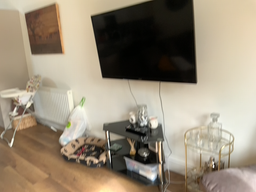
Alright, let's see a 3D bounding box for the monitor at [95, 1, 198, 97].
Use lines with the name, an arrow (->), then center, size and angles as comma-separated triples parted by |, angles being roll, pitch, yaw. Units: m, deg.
monitor -> 0.080, -0.450, 1.950 | 1.080, 0.700, 0.060 | 16, 23, 40
